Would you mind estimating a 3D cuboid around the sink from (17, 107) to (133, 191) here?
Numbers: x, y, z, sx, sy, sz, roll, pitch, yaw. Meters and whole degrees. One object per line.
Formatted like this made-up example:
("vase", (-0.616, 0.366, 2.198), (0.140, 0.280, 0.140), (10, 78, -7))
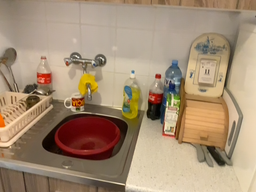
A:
("sink", (-0.220, 0.250, 1.060), (0.410, 0.180, 0.420), (8, 22, 8))
